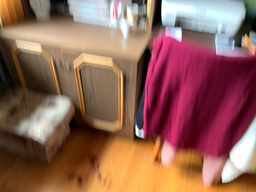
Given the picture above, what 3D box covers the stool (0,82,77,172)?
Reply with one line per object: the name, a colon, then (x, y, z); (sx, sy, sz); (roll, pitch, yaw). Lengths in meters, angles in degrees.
stool: (-0.680, 0.190, 1.430); (0.510, 0.340, 0.350); (13, 41, 13)
